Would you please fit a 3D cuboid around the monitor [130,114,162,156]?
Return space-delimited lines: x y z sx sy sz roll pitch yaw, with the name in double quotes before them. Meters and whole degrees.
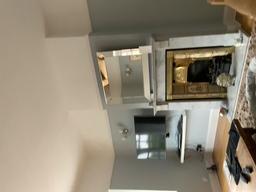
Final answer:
"monitor" 0.350 0.740 3.920 0.040 0.540 0.930 -78 -15 -63

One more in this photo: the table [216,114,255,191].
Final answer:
"table" 1.250 0.780 2.260 0.780 0.300 0.870 -81 -13 -56

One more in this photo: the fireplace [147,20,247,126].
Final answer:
"fireplace" 0.890 -0.300 3.150 0.680 1.140 1.350 -82 -12 -56
